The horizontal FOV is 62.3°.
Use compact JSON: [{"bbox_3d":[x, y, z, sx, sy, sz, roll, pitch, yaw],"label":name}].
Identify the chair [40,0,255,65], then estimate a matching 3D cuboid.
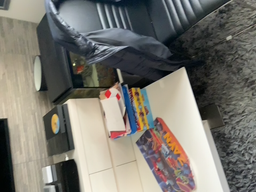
[{"bbox_3d":[0.150,-0.490,1.070,0.540,0.980,0.380,-31,69,44],"label":"chair"}]
